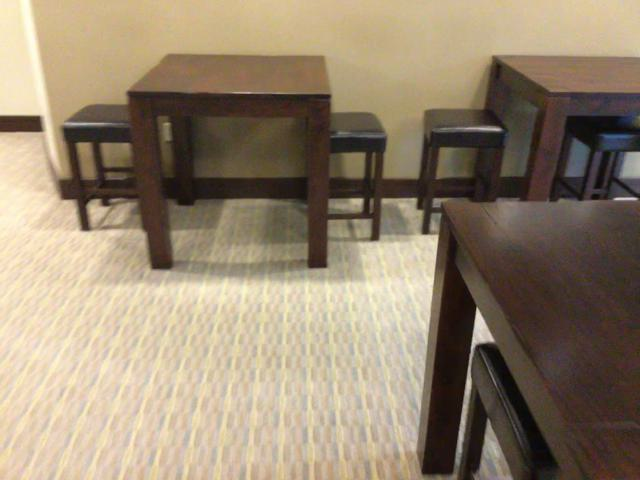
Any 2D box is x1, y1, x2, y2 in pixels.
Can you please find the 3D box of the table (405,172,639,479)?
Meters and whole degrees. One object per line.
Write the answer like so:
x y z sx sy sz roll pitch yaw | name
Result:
0.800 0.490 1.330 1.020 0.960 1.090 0 28 1 | table

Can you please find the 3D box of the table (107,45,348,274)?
-0.390 -0.480 3.140 1.040 0.960 0.980 0 28 1 | table

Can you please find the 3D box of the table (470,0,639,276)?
1.470 -0.920 2.850 1.010 1.960 0.990 0 28 1 | table
